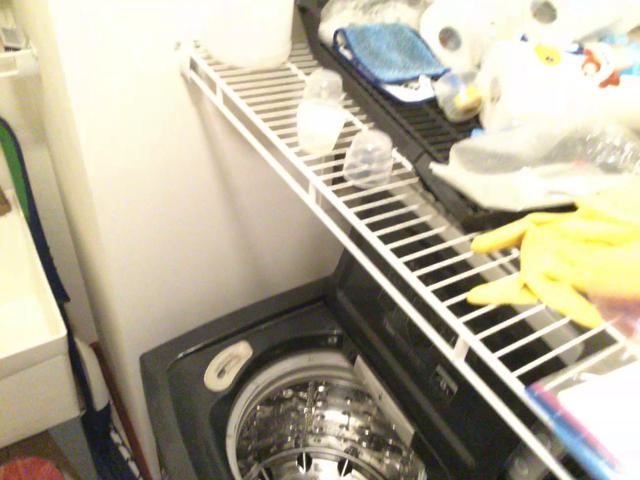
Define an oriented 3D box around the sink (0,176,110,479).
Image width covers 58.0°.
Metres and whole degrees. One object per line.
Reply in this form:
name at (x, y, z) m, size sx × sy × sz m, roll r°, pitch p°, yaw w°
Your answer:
sink at (-1.000, 0.410, 1.640) m, size 0.540 × 0.900 × 0.600 m, roll -18°, pitch 46°, yaw -28°
